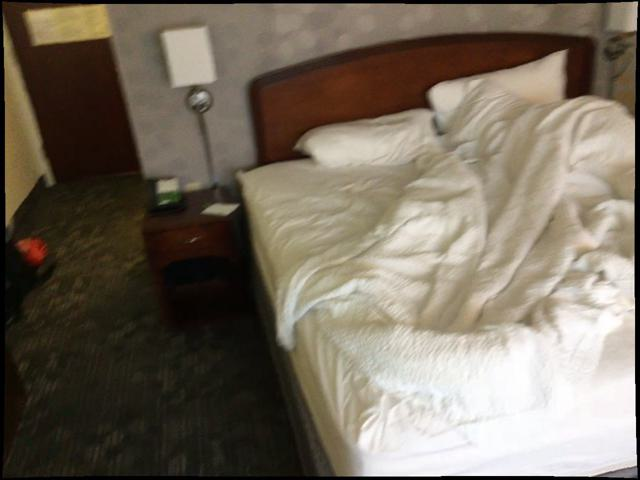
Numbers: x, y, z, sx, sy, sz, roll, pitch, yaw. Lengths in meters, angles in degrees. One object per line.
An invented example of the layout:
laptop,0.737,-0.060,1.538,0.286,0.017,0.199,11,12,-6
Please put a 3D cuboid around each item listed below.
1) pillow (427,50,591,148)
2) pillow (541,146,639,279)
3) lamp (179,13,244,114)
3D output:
pillow,0.929,-0.721,2.910,0.699,0.350,0.300,-9,28,-11
pillow,1.109,-0.120,1.830,0.559,0.190,0.510,-9,28,-11
lamp,-0.490,-0.801,2.610,0.220,0.380,0.270,-9,28,-11
